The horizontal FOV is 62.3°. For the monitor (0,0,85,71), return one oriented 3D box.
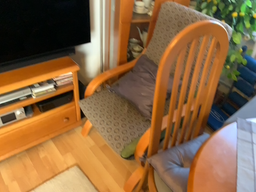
[{"bbox_3d":[-0.740,-0.460,1.090,1.130,0.730,0.050,-24,48,-33],"label":"monitor"}]

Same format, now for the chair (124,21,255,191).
[{"bbox_3d":[0.350,0.330,0.920,0.460,1.090,0.560,-12,42,-23],"label":"chair"}]
